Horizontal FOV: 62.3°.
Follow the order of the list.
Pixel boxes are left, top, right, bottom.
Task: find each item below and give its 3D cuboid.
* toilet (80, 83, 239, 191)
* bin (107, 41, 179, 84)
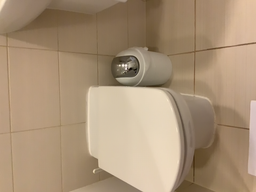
[{"bbox_3d":[0.110,0.140,0.930,0.550,0.410,0.380,2,94,50],"label":"toilet"},{"bbox_3d":[0.080,-0.160,1.120,0.210,0.320,0.190,5,96,50],"label":"bin"}]
